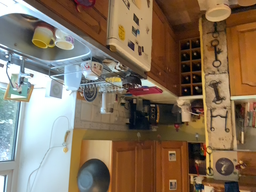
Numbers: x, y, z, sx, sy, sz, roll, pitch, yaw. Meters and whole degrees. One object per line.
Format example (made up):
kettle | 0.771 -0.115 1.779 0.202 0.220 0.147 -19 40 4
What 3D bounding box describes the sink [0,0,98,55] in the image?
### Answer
sink | -0.440 -0.380 1.100 0.380 0.140 0.420 -4 168 27
